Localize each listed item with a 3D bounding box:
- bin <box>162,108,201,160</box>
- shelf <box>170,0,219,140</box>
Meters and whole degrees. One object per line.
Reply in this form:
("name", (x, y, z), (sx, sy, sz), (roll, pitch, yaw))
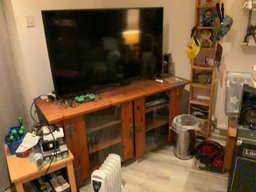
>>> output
("bin", (0.560, 0.380, 2.210), (0.300, 0.370, 0.320), (9, 24, 26))
("shelf", (0.690, -0.310, 2.260), (0.360, 1.590, 0.240), (7, 24, 22))
